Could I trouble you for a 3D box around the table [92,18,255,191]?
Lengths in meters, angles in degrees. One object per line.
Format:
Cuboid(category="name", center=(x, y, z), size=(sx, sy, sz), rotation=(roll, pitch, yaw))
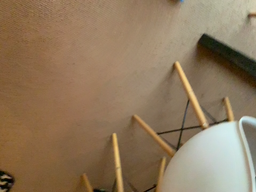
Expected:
Cuboid(category="table", center=(0.330, 0.580, 1.060), size=(0.700, 0.760, 1.600), rotation=(24, 113, -17))
